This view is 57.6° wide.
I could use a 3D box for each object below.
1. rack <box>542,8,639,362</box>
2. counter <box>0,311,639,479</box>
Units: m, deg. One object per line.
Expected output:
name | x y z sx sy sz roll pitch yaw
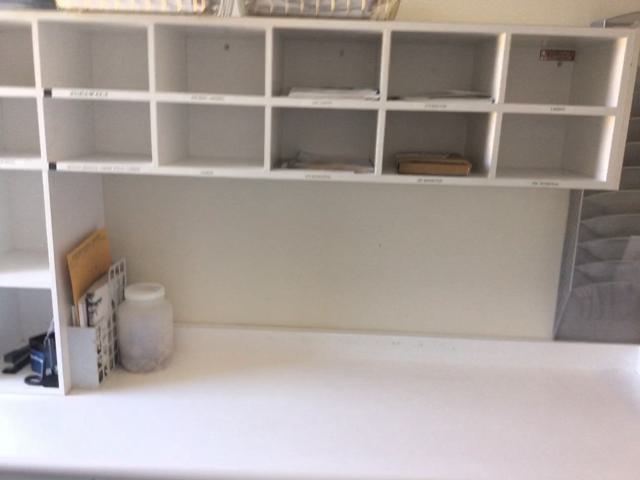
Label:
rack | 0.870 -0.130 1.600 0.340 0.910 0.190 2 12 -2
counter | -0.150 0.430 1.500 2.340 0.220 0.710 2 12 -2
